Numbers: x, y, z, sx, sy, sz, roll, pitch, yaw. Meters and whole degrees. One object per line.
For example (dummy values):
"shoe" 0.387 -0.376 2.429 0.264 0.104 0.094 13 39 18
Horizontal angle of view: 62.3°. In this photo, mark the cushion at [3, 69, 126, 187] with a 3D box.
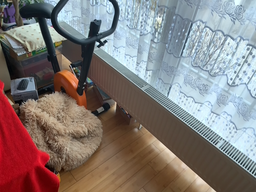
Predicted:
"cushion" -0.430 0.170 1.490 0.570 0.320 0.570 -26 53 -33
